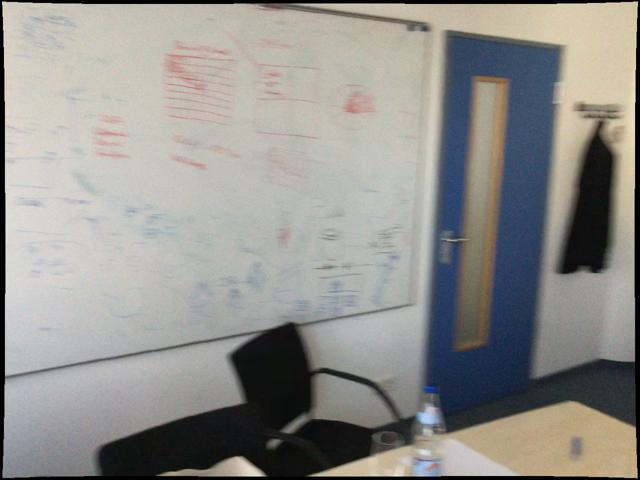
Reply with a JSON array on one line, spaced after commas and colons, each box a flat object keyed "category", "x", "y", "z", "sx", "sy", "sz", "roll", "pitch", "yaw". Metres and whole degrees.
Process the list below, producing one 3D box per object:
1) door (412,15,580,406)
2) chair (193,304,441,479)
[{"category": "door", "x": 0.949, "y": -0.120, "z": 3.140, "sx": 0.869, "sy": 1.972, "sz": 0.120, "roll": -4, "pitch": 12, "yaw": -27}, {"category": "chair", "x": -0.020, "y": 0.721, "z": 2.070, "sx": 0.730, "sy": 0.761, "sz": 0.450, "roll": 10, "pitch": 16, "yaw": 37}]
